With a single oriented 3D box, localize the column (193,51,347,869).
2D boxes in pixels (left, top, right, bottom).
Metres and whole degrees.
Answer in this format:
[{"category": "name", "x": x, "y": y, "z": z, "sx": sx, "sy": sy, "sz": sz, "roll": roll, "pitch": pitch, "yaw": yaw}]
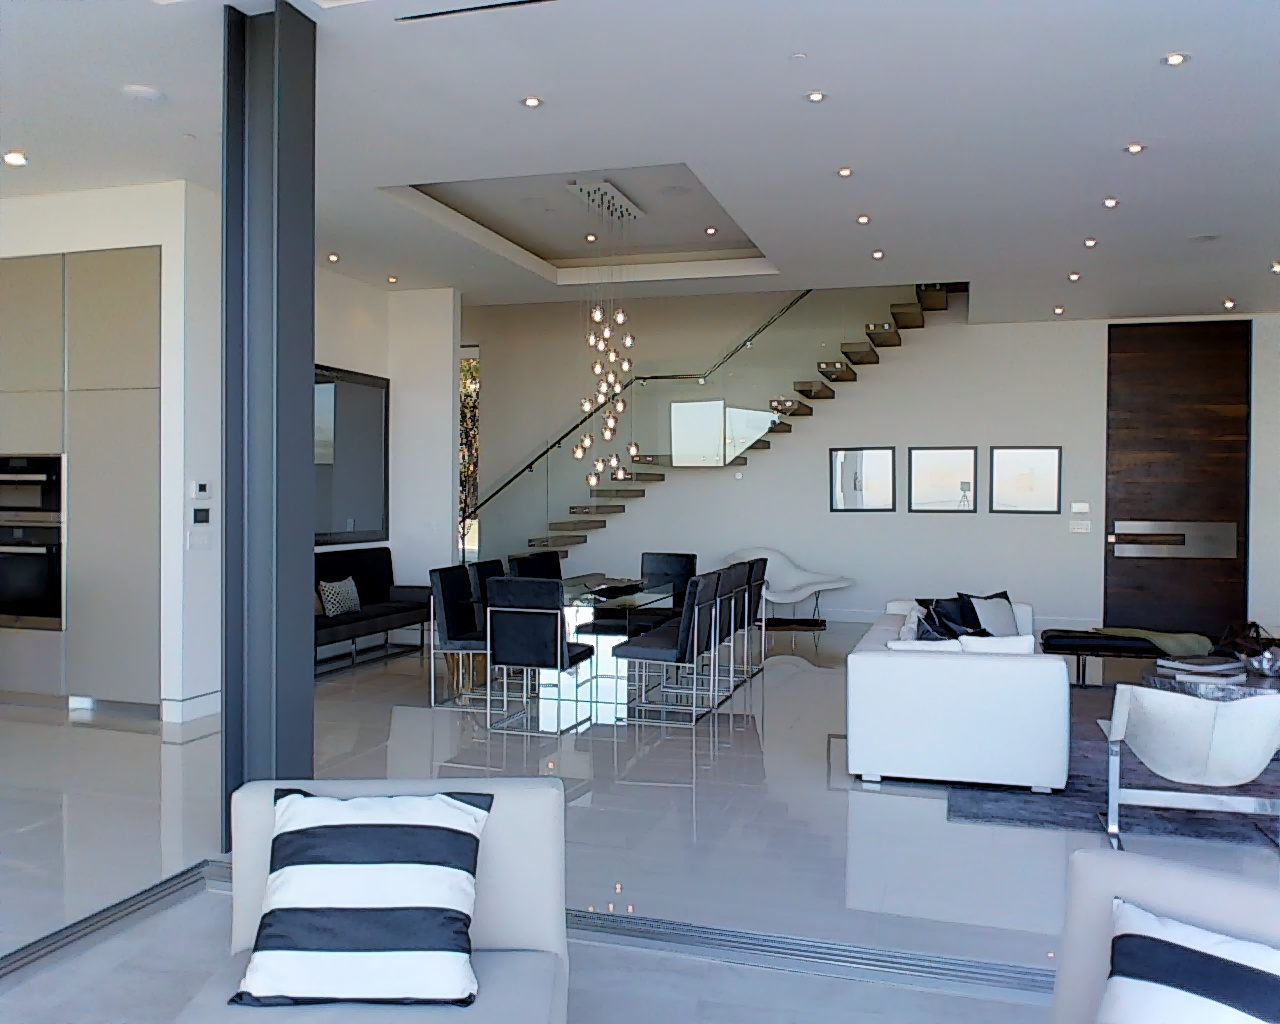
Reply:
[{"category": "column", "x": -1.530, "y": -0.200, "z": 4.490, "sx": 0.430, "sy": 3.200, "sz": 0.440, "roll": 0, "pitch": 1, "yaw": 17}]
